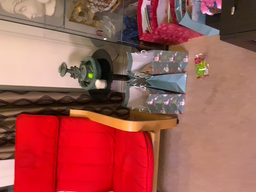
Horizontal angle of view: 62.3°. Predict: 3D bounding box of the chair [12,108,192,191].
[{"bbox_3d":[-0.200,0.480,1.500,0.800,0.960,0.710,5,93,52],"label":"chair"}]
